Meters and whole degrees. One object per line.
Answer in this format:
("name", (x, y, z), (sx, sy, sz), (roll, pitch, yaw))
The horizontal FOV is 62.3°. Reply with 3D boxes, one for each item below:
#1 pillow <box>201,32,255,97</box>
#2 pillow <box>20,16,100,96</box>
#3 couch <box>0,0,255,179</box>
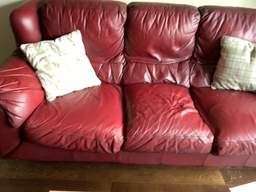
("pillow", (0.840, -0.230, 1.590), (0.420, 0.390, 0.230), (5, 35, -1))
("pillow", (-0.480, -0.250, 1.540), (0.260, 0.460, 0.450), (4, 0, 45))
("couch", (0.220, -0.130, 1.590), (2.180, 0.940, 1.030), (3, 35, -4))
